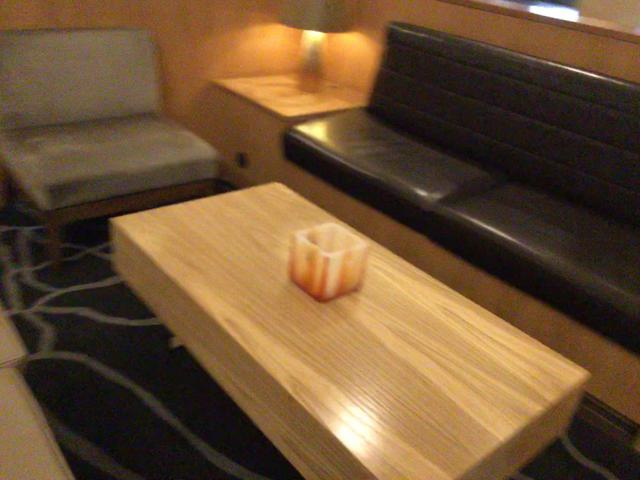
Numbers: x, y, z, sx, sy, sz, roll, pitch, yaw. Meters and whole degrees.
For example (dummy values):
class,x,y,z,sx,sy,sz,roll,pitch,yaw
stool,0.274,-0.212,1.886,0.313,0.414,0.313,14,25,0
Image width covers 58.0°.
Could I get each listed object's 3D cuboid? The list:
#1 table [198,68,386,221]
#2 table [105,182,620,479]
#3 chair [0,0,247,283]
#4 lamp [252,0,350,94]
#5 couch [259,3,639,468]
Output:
class,x,y,z,sx,sy,sz,roll,pitch,yaw
table,-0.170,-0.550,3.080,0.640,0.560,0.700,-14,35,-40
table,-0.010,0.330,1.600,0.650,0.480,1.260,-14,35,-40
chair,-0.930,-0.480,2.450,0.850,0.880,0.800,-14,35,-40
lamp,-0.100,-1.040,2.900,0.290,0.520,0.340,-14,35,-40
couch,0.620,-0.230,2.250,0.650,0.970,1.870,-14,35,-40
